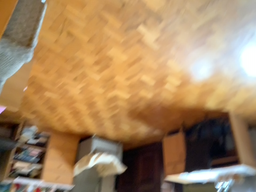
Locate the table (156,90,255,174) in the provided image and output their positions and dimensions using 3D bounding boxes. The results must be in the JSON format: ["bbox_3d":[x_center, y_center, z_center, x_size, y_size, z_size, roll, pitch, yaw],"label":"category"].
[{"bbox_3d":[1.130,0.630,3.320,0.720,0.920,1.120,25,143,-36],"label":"table"}]

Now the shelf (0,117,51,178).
[{"bbox_3d":[-1.670,0.850,3.460,0.540,0.840,0.360,24,143,-35],"label":"shelf"}]

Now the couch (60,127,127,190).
[{"bbox_3d":[-0.620,1.230,4.030,0.920,0.920,0.770,24,143,-35],"label":"couch"}]
